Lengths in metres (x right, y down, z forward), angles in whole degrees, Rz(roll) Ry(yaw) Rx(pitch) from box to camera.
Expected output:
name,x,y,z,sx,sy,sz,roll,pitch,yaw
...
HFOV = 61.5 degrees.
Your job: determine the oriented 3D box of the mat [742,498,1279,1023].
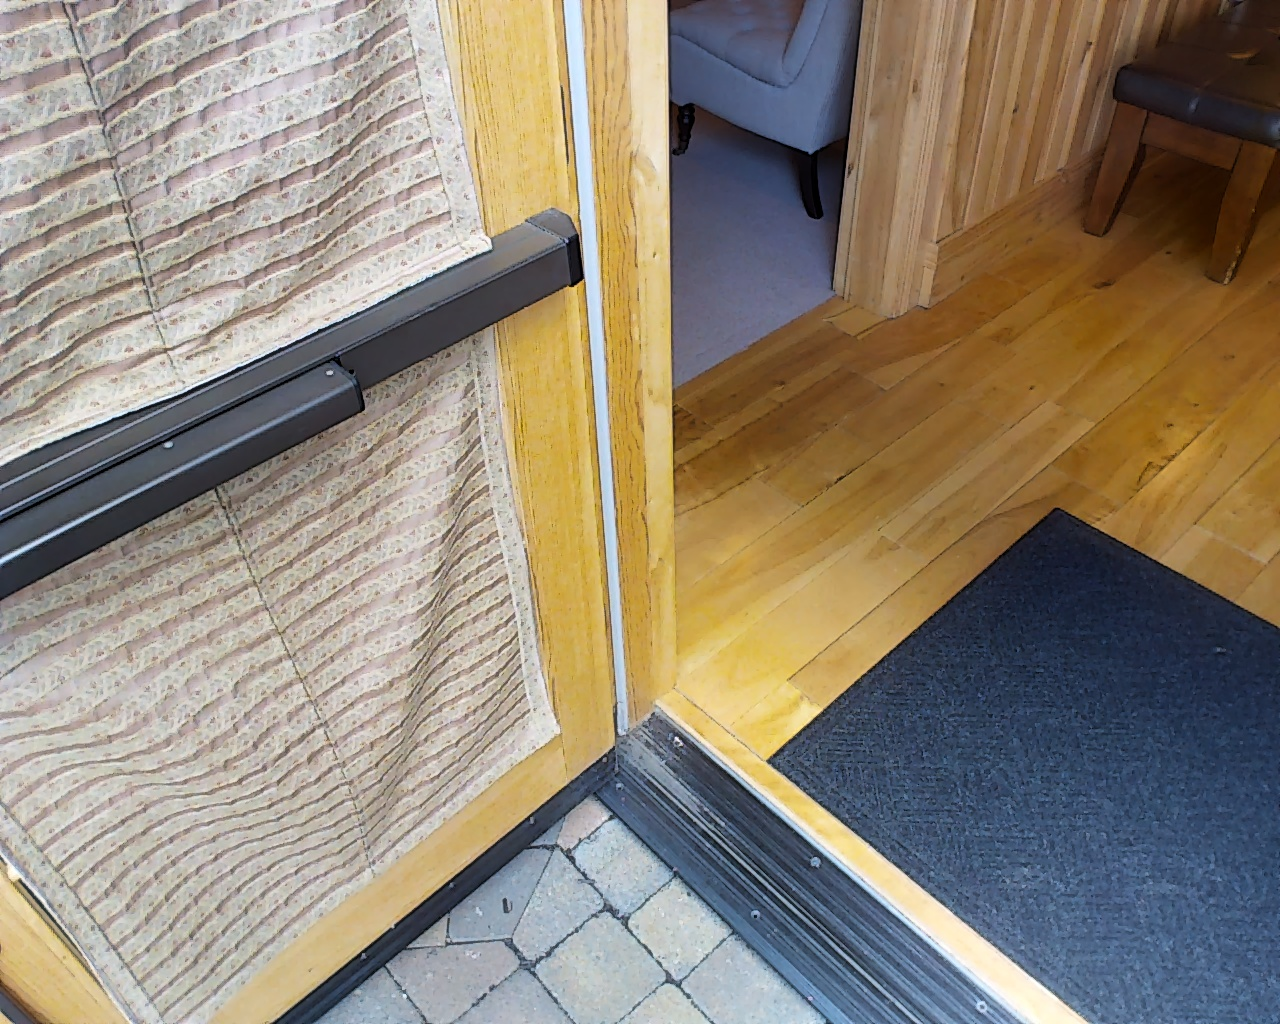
name,x,y,z,sx,sy,sz,roll,pitch,yaw
mat,0.950,0.510,1.690,0.940,0.010,1.280,-33,51,-28
